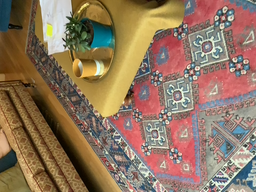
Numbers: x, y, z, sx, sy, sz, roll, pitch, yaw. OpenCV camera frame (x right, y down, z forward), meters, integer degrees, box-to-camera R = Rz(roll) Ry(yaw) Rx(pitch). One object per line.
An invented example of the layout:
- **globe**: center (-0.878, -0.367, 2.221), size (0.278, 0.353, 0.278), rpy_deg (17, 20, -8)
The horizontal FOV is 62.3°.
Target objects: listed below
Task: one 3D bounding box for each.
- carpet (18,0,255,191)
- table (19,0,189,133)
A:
- **carpet**: center (-0.230, -0.380, 1.600), size (2.650, 0.060, 1.870), rpy_deg (44, 125, 30)
- **table**: center (-0.330, -0.500, 1.480), size (1.250, 0.300, 0.810), rpy_deg (46, 126, 29)
